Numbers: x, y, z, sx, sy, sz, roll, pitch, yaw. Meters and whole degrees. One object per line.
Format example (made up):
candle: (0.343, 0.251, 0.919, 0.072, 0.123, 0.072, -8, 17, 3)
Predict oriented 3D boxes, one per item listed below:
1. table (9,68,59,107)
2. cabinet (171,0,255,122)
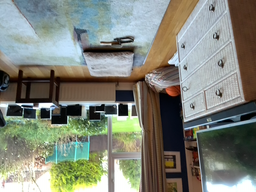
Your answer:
table: (-1.290, -0.110, 2.970, 0.520, 0.460, 0.360, -1, 166, -4)
cabinet: (0.750, -0.300, 1.570, 0.520, 0.870, 0.910, 0, 166, -7)
